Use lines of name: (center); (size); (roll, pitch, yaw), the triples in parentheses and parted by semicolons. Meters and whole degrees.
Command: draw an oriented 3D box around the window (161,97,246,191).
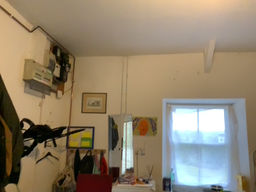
window: (1.120, 0.710, 3.270); (1.190, 1.400, 0.060); (0, -9, 10)

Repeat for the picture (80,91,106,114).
picture: (-0.550, 0.100, 3.330); (0.400, 0.360, 0.020); (0, -9, 6)
